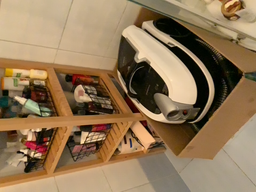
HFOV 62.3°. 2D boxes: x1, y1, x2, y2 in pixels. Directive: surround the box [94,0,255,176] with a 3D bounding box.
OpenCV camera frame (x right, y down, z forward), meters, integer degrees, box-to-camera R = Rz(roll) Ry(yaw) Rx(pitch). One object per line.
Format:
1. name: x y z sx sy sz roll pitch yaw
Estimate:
1. box: 0.300 -0.120 1.030 0.690 0.560 0.510 55 128 36
